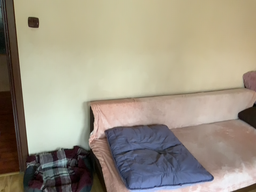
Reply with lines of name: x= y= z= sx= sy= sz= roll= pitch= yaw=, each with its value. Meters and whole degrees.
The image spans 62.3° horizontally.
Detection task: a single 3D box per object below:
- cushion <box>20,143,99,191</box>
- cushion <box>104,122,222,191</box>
cushion: x=-0.600 y=0.680 z=1.870 sx=0.580 sy=0.230 sz=0.460 roll=-3 pitch=22 yaw=-21
cushion: x=0.230 y=0.440 z=1.700 sx=0.690 sy=0.100 sz=0.670 roll=-4 pitch=22 yaw=-21
